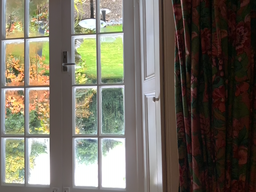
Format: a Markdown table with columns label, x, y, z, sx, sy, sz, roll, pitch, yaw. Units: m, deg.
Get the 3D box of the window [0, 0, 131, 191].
| label | x | y | z | sx | sy | sz | roll | pitch | yaw |
| --- | --- | --- | --- | --- | --- | --- | --- | --- | --- |
| window | -0.560 | -0.340 | 1.650 | 1.120 | 2.140 | 0.090 | -1 | 179 | 10 |
